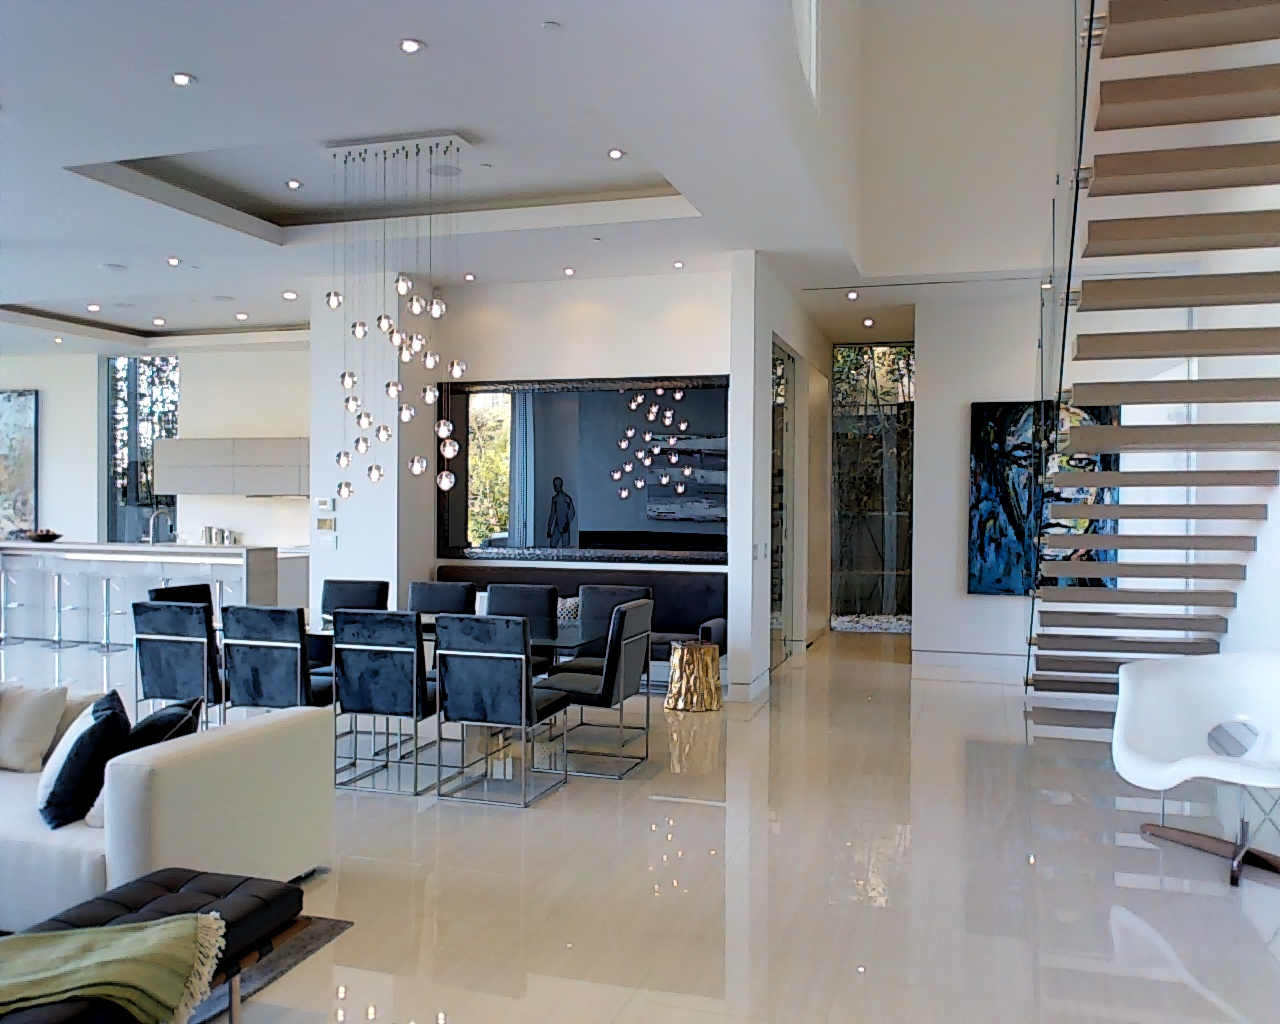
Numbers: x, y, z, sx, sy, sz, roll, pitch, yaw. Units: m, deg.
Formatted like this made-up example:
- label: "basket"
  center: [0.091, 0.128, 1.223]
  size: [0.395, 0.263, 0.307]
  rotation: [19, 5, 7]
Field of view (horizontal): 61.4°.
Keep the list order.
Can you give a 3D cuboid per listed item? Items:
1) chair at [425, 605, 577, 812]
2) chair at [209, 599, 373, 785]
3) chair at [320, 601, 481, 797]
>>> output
- label: "chair"
  center: [-0.720, 1.000, 5.700]
  size: [0.580, 0.950, 0.650]
  rotation: [0, 0, 18]
- label: "chair"
  center: [-1.950, 0.980, 6.070]
  size: [0.640, 0.920, 0.620]
  rotation: [0, 0, 18]
- label: "chair"
  center: [-1.300, 0.990, 5.920]
  size: [0.620, 0.940, 0.650]
  rotation: [0, 0, 18]
